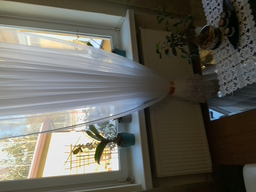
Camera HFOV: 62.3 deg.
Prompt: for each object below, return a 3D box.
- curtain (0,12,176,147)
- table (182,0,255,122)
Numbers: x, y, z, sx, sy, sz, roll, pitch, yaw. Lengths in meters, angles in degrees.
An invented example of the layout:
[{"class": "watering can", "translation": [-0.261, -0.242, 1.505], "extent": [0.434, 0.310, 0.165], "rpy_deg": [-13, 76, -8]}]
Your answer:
[{"class": "curtain", "translation": [-0.630, -0.130, 1.840], "extent": [0.320, 2.030, 1.040], "rpy_deg": [135, 133, -64]}, {"class": "table", "translation": [0.900, -0.490, 1.570], "extent": [0.770, 0.500, 1.230], "rpy_deg": [138, 131, -66]}]
